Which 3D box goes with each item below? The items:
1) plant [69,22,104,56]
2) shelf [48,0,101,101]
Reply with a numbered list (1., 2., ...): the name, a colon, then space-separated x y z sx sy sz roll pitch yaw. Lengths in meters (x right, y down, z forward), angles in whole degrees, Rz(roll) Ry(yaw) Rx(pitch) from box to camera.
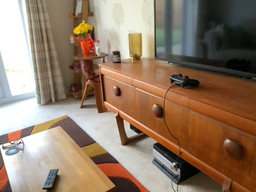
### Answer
1. plant: -0.470 -0.660 2.420 0.280 0.340 0.230 -18 27 -34
2. shelf: -0.710 -0.700 2.850 0.410 1.430 0.410 -17 26 -32
